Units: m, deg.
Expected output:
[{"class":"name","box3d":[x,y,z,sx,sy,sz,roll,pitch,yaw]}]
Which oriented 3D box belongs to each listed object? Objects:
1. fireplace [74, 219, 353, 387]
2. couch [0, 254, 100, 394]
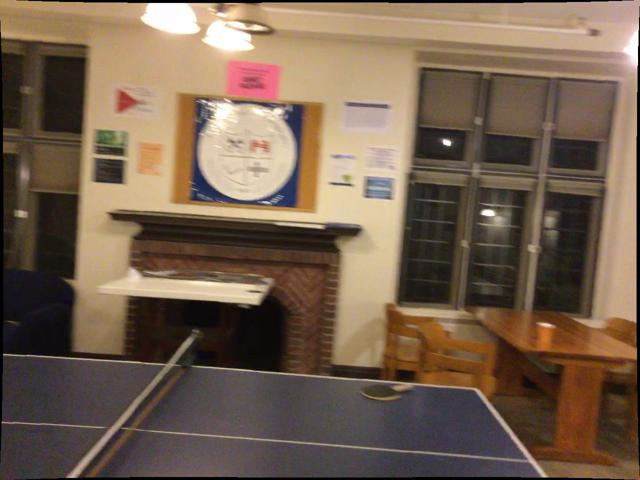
[{"class":"fireplace","box3d":[-0.879,0.510,5.010,2.248,1.291,0.650,2,4,-1]},{"class":"couch","box3d":[-2.668,0.580,4.420,1.589,0.861,0.940,2,4,-1]}]
